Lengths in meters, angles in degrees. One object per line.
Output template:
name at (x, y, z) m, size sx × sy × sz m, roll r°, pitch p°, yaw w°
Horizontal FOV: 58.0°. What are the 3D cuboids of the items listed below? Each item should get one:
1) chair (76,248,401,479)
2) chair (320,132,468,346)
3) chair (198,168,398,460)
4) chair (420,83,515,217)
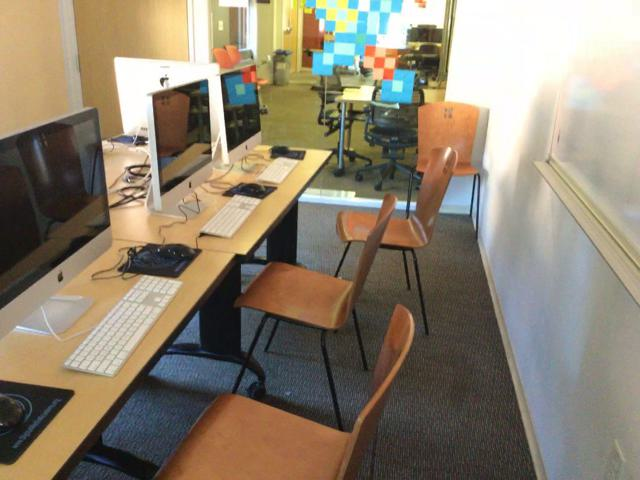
chair at (-0.130, 0.500, 1.310) m, size 0.520 × 0.780 × 0.490 m, roll 6°, pitch 23°, yaw 8°
chair at (0.340, -0.030, 2.710) m, size 0.550 × 0.800 × 0.560 m, roll 6°, pitch 23°, yaw 8°
chair at (-0.050, 0.220, 2.040) m, size 0.540 × 0.770 × 0.590 m, roll 6°, pitch 23°, yaw 8°
chair at (0.960, -0.620, 3.890) m, size 0.480 × 0.760 × 0.500 m, roll 6°, pitch 23°, yaw 8°
